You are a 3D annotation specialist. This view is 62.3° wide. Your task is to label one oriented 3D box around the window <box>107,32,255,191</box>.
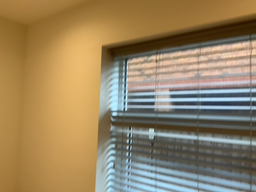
[{"bbox_3d":[0.310,0.400,1.290,1.100,1.450,0.050,-1,-5,37],"label":"window"}]
